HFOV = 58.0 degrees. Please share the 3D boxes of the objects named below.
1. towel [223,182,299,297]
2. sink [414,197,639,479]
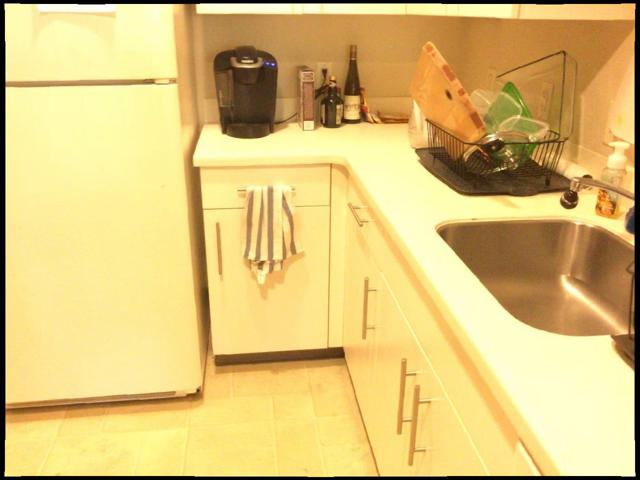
[{"bbox_3d":[-0.210,0.000,2.090,0.259,0.411,0.080,-1,22,-7],"label":"towel"},{"bbox_3d":[0.579,0.140,1.230,0.569,0.260,0.680,-1,22,-7],"label":"sink"}]
